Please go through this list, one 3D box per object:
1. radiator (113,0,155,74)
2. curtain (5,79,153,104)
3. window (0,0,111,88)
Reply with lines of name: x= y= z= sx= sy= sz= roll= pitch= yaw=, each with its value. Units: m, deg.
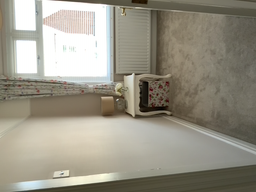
radiator: x=0.100 y=-1.000 z=3.450 sx=0.170 sy=0.660 sz=1.280 roll=-165 pitch=75 yaw=-76
curtain: x=-0.690 y=-0.090 z=3.390 sx=0.120 sy=2.260 sz=0.370 roll=-170 pitch=79 yaw=-76
window: x=-1.160 y=-0.960 z=3.350 sx=0.270 sy=1.750 sz=1.630 roll=-157 pitch=66 yaw=-75
